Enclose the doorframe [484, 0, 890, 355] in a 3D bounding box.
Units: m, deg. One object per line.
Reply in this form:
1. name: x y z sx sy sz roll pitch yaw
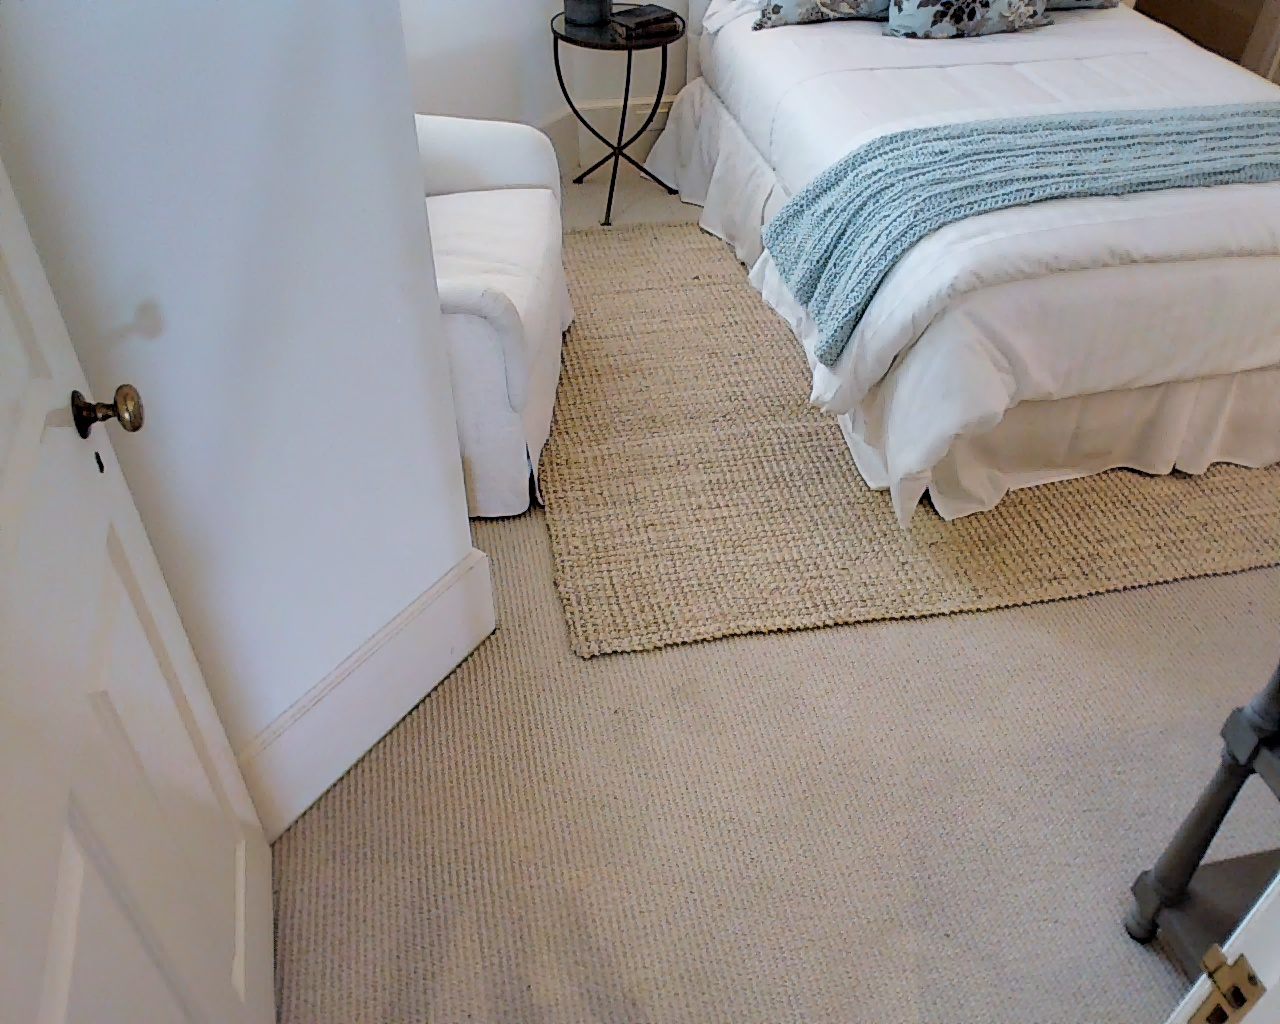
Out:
1. doorframe: 0.090 -1.390 2.390 0.880 2.070 0.440 -8 43 -9
